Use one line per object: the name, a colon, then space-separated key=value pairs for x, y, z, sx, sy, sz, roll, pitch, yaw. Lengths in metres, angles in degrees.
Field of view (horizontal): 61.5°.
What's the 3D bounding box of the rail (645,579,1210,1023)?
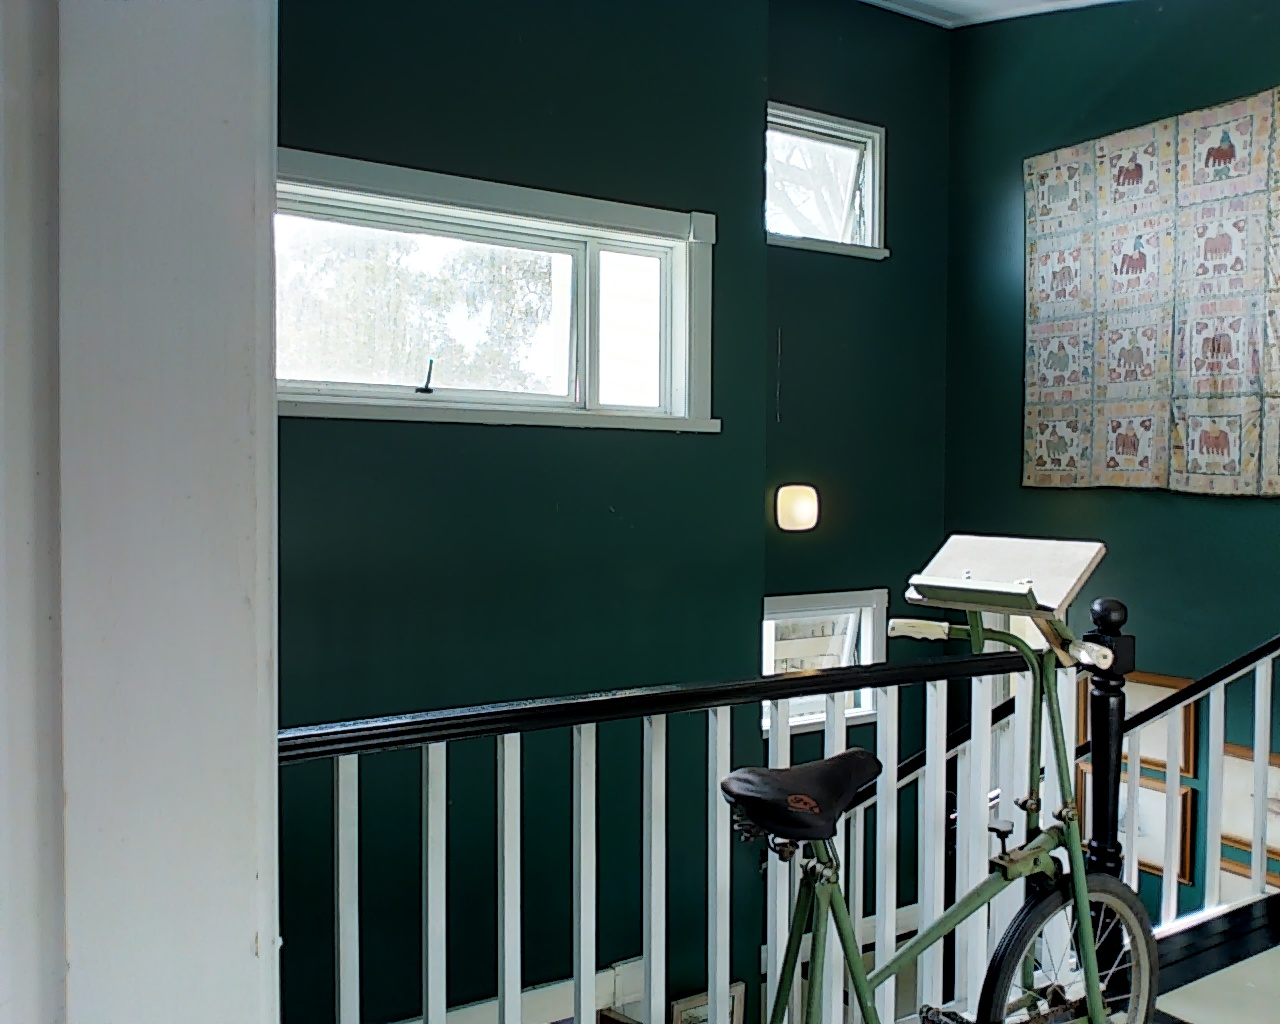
rail: x=0.800 y=1.320 z=3.370 sx=0.260 sy=1.090 sz=2.290 roll=-1 pitch=32 yaw=-32
